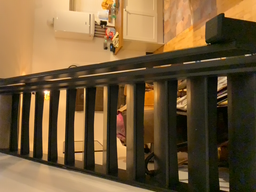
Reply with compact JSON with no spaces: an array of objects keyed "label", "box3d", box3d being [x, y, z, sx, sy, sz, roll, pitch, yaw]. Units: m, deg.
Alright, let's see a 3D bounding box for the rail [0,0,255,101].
[{"label":"rail","box3d":[0.010,-0.110,2.120,3.000,2.610,0.210,170,101,-74]}]
